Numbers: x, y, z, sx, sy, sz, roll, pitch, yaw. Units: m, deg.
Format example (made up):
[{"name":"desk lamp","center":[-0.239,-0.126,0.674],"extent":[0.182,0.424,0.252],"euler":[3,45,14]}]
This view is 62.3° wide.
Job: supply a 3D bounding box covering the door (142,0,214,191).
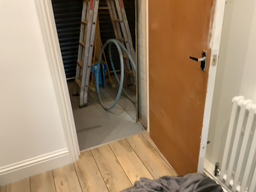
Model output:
[{"name":"door","center":[0.270,-0.360,1.450],"extent":[0.060,2.000,0.790],"euler":[-10,27,-14]}]
